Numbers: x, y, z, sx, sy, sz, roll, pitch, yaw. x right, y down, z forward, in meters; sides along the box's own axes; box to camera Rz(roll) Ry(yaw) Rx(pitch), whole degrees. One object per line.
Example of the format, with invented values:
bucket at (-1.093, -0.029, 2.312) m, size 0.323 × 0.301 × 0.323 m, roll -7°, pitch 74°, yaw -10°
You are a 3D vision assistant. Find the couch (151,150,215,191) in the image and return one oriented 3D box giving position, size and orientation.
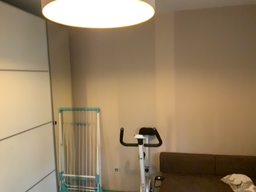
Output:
couch at (0.650, 1.110, 2.560) m, size 0.620 × 0.640 × 0.790 m, roll 0°, pitch 5°, yaw 14°

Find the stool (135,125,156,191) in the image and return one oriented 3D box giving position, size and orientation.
stool at (0.250, 0.900, 2.910) m, size 0.230 × 0.970 × 0.240 m, roll 0°, pitch 5°, yaw 14°

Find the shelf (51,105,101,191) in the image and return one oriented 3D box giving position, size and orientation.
shelf at (-0.750, 0.820, 3.140) m, size 0.600 × 1.340 × 0.270 m, roll 0°, pitch 5°, yaw 14°
